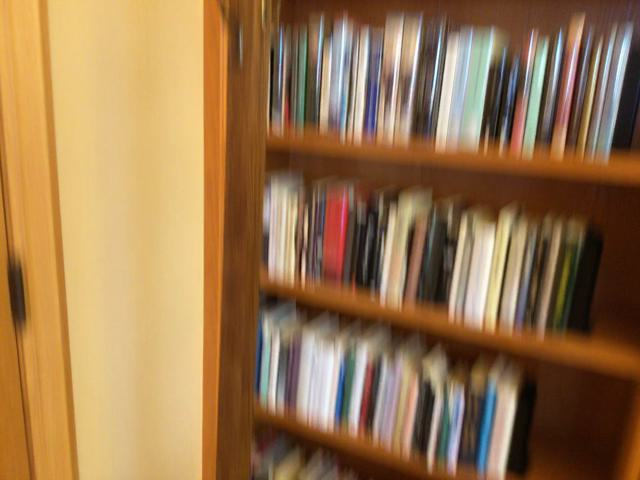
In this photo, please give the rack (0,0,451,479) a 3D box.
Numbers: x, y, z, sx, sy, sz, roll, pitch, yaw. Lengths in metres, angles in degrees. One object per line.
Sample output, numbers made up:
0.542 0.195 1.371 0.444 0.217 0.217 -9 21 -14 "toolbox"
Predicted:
-0.180 0.230 1.110 0.590 1.810 0.600 9 15 26 "rack"
